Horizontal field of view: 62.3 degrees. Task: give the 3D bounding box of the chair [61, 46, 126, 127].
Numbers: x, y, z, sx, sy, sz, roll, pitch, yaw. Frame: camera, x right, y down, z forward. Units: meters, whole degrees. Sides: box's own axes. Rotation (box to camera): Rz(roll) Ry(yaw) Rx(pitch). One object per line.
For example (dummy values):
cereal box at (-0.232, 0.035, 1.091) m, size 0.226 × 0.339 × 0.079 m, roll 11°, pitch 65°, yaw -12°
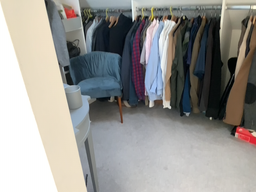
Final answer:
chair at (-0.330, -0.120, 2.300) m, size 0.540 × 0.690 × 0.520 m, roll -5°, pitch 26°, yaw -3°
